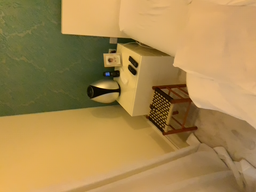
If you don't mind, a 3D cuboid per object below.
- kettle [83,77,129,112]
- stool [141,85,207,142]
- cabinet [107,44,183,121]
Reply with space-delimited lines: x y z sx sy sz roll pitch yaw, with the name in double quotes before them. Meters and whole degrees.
"kettle" -0.240 -0.030 2.260 0.290 0.390 0.240 43 131 51
"stool" 0.400 0.140 1.910 0.330 0.390 0.350 46 133 50
"cabinet" 0.140 -0.180 2.260 0.600 0.480 0.610 41 130 53
